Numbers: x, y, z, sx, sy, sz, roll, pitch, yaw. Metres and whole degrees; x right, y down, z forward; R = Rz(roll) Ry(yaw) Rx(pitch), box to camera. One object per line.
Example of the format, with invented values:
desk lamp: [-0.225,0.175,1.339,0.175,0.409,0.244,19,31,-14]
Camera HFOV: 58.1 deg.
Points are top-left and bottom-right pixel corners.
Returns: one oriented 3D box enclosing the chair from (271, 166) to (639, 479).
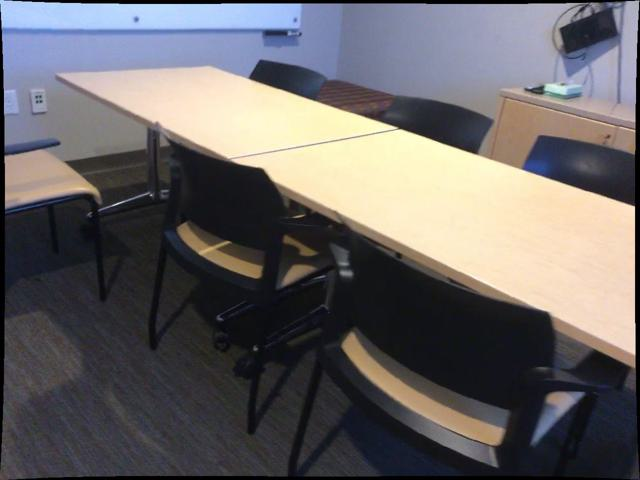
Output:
chair: [0.300,0.170,1.250,0.500,0.411,0.630,-20,36,-41]

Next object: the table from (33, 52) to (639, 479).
table: [0.010,-0.030,2.030,0.969,0.771,2.379,-20,36,-41]

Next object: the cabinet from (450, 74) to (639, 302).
cabinet: [1.398,-0.280,2.840,0.550,0.771,1.269,-20,36,-41]
